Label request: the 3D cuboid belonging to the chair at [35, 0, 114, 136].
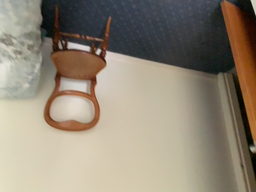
[{"bbox_3d":[-0.390,-0.200,1.660,0.440,0.890,0.540,6,156,-15],"label":"chair"}]
